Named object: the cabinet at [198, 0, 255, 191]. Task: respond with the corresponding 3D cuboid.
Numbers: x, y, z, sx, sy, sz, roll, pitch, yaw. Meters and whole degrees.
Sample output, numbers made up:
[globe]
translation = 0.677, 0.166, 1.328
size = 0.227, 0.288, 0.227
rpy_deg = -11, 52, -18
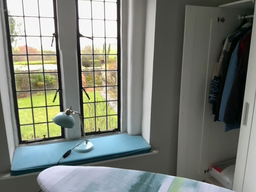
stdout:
[cabinet]
translation = 1.200, 0.150, 1.900
size = 0.530, 1.900, 0.870
rpy_deg = -5, 14, -19
